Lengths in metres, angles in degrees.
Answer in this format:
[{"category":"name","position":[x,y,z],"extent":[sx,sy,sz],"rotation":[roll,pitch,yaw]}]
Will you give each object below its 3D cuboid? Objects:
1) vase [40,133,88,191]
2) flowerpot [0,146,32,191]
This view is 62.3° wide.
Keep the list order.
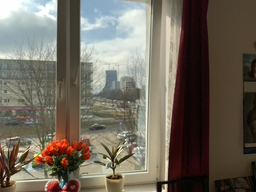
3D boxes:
[{"category":"vase","position":[-0.430,0.550,1.490],"extent":[0.290,0.520,0.270],"rotation":[1,0,-10]},{"category":"flowerpot","position":[-0.830,0.580,1.490],"extent":[0.210,0.390,0.280],"rotation":[1,0,-10]}]
